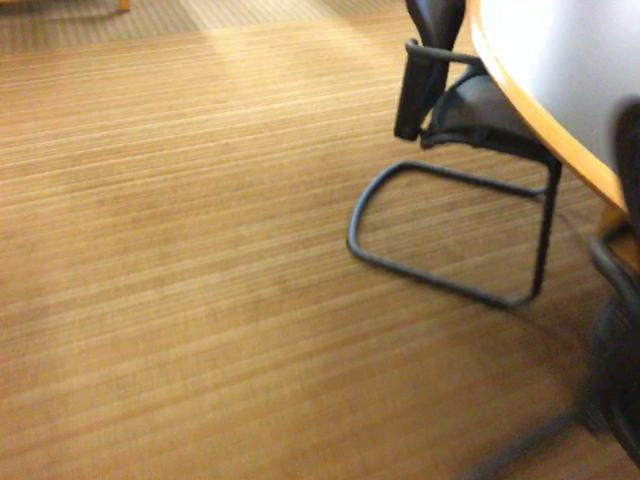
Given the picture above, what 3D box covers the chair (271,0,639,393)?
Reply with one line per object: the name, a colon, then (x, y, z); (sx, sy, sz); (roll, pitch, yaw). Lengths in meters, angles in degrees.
chair: (0.490, -0.380, 1.670); (0.900, 1.090, 0.870); (24, 50, 20)
